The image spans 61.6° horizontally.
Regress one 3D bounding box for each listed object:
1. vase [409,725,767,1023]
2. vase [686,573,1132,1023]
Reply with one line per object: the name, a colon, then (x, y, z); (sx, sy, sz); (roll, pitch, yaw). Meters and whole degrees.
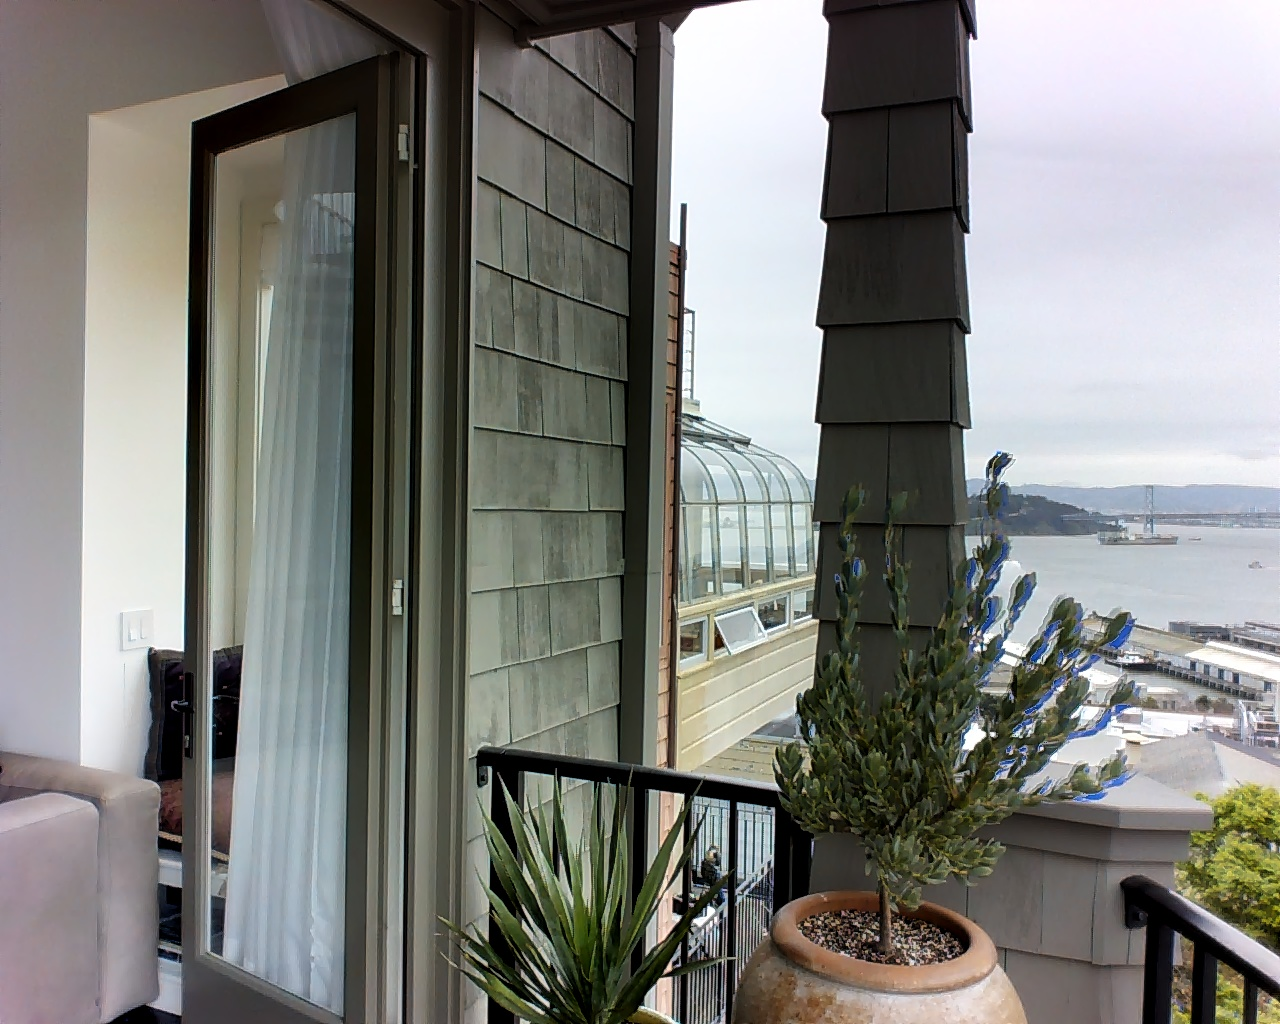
vase: (-0.090, 0.990, 2.140); (0.550, 0.990, 0.480); (1, 1, 23)
vase: (0.460, 0.830, 1.760); (0.590, 1.400, 0.610); (1, 1, 23)
